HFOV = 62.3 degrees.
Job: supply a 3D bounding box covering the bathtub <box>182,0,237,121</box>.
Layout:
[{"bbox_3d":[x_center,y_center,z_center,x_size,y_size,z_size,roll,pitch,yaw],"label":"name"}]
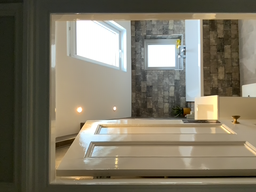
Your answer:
[{"bbox_3d":[1.270,-0.740,3.460,0.810,0.560,2.210,115,155,-87],"label":"bathtub"}]
